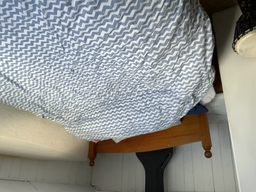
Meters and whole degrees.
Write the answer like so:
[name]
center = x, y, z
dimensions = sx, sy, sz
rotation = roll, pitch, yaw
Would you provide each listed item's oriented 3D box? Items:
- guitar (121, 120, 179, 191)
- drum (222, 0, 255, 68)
[guitar]
center = 0.220, 0.760, 2.080
dimensions = 0.440, 0.940, 0.360
rotation = -12, 154, 28
[drum]
center = 0.740, -0.480, 1.220
dimensions = 0.300, 0.480, 0.330
rotation = -13, 154, 31
